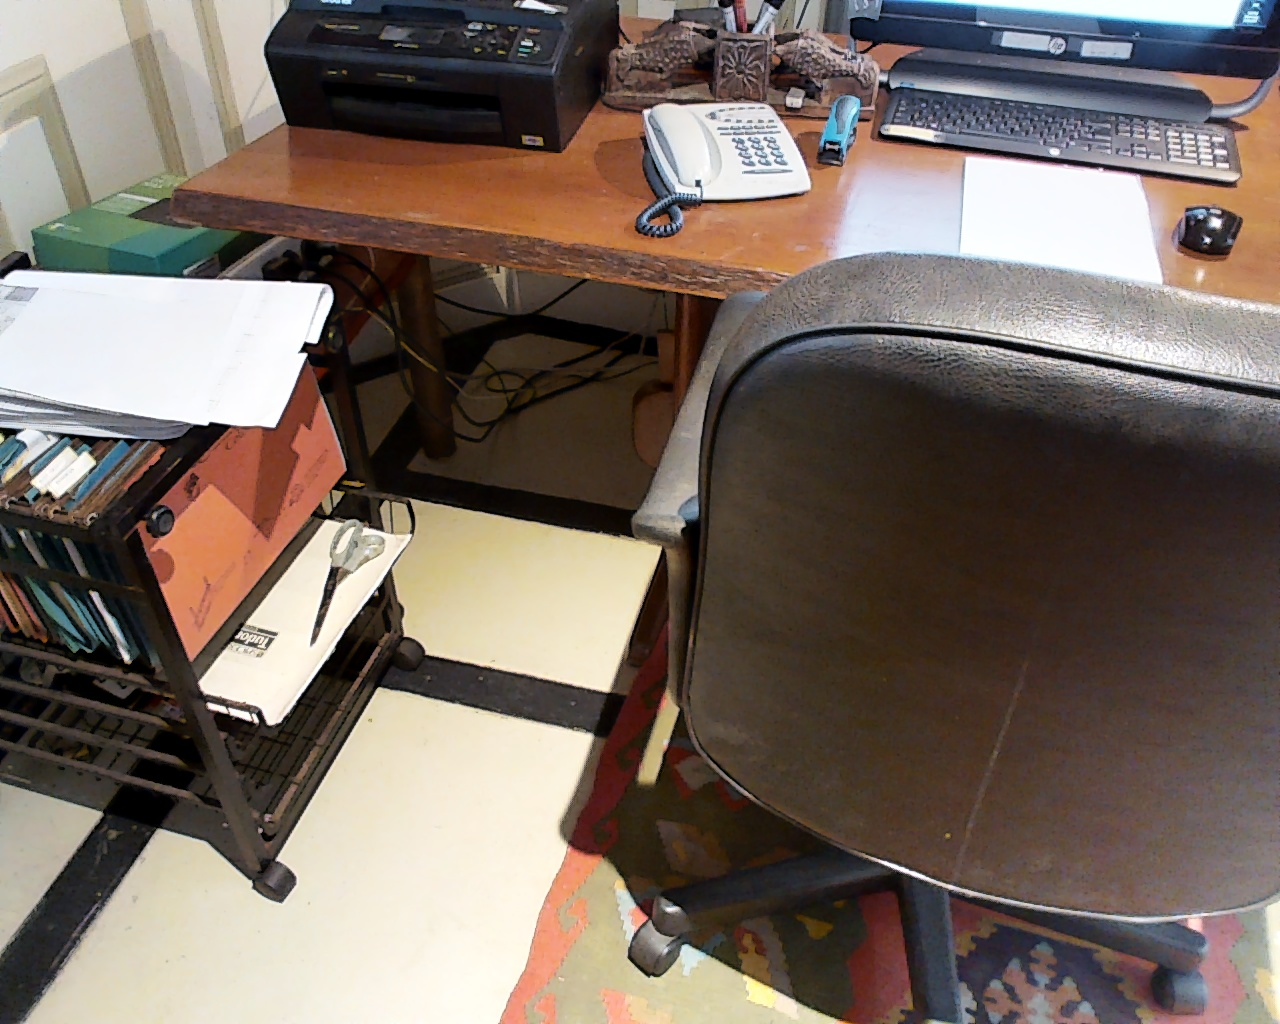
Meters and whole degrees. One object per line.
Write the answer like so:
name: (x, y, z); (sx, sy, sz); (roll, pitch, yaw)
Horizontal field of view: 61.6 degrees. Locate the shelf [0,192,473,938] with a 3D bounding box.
shelf: (-0.650, 0.060, 1.380); (0.670, 0.720, 0.480); (11, 42, 11)
